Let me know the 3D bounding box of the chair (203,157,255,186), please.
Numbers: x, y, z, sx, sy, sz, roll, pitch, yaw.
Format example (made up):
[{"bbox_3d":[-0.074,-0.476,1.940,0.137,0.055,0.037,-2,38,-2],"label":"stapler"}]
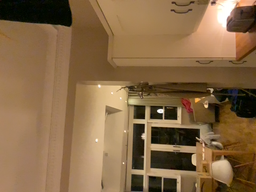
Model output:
[{"bbox_3d":[1.810,1.350,3.820,0.380,0.780,0.400,66,-152,-74],"label":"chair"}]

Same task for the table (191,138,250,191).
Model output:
[{"bbox_3d":[1.920,1.560,4.680,1.720,0.730,1.000,25,-113,-82],"label":"table"}]
